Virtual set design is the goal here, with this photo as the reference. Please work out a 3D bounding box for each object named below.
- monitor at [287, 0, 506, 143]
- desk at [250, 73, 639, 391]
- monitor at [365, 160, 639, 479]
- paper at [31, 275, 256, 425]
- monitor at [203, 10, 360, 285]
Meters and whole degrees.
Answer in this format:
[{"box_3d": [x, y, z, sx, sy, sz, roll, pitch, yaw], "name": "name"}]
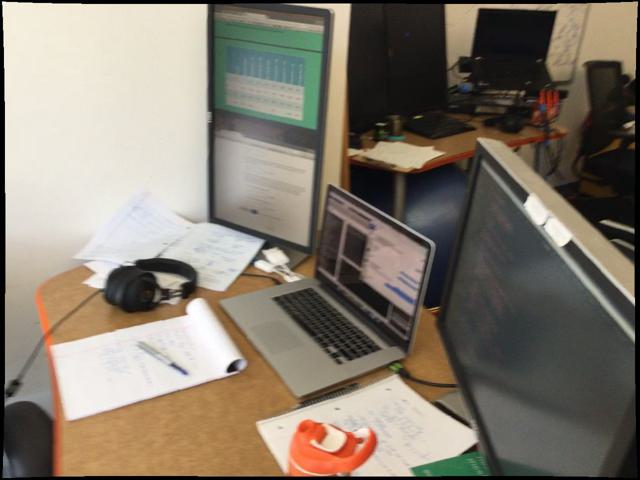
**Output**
[{"box_3d": [0.300, -0.781, 2.430, 0.749, 0.550, 0.450, -12, 31, -26], "name": "monitor"}, {"box_3d": [0.539, -0.170, 2.600, 1.419, 0.861, 0.970, -12, 31, -26], "name": "desk"}, {"box_3d": [0.220, 0.210, 0.670, 0.280, 0.430, 0.540, 3, 27, 0], "name": "monitor"}, {"box_3d": [-0.340, 0.190, 1.110, 0.360, 0.060, 0.250, -12, 31, -26], "name": "paper"}, {"box_3d": [-0.110, -0.240, 1.390, 0.190, 0.540, 0.400, -12, 31, -26], "name": "monitor"}]
